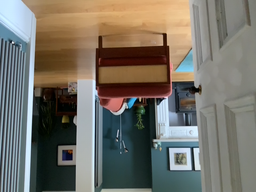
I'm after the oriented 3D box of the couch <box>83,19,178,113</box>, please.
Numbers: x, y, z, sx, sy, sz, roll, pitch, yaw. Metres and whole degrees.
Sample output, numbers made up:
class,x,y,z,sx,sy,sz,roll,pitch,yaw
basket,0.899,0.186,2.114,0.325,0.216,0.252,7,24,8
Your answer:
class,x,y,z,sx,sy,sz,roll,pitch,yaw
couch,0.040,-0.210,2.720,0.830,0.770,1.650,-1,173,2
